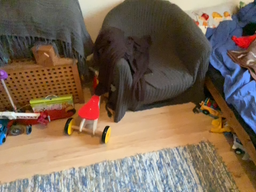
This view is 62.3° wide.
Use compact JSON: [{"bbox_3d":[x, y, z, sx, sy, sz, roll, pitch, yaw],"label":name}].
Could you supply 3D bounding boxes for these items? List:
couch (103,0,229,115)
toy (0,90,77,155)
[{"bbox_3d":[0.230,-0.390,1.890,0.760,0.670,0.760,-9,48,-10],"label":"couch"},{"bbox_3d":[-0.820,0.210,1.670,0.770,0.170,0.390,-9,49,-10],"label":"toy"}]
